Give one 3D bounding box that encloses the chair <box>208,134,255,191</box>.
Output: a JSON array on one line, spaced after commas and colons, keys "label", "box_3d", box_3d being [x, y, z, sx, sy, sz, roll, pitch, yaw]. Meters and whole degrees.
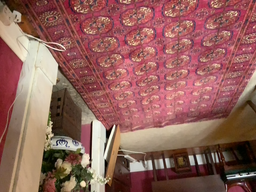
[{"label": "chair", "box_3d": [1.620, 1.130, 3.170, 0.500, 0.900, 0.590, -9, 150, 6]}]
